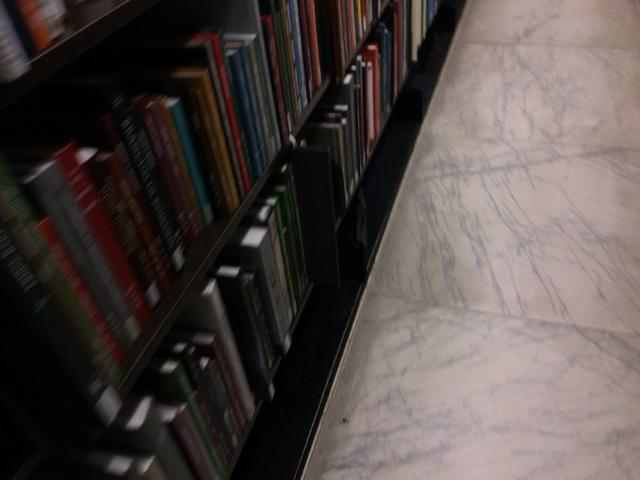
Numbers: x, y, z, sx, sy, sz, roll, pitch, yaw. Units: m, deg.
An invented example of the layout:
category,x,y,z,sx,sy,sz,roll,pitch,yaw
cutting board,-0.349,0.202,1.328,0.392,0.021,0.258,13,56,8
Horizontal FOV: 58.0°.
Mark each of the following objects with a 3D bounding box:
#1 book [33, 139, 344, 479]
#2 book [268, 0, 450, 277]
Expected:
category,x,y,z,sx,sy,sz,roll,pitch,yaw
book,-0.130,0.170,0.970,0.150,0.370,0.670,10,42,15
book,0.240,-0.640,1.900,0.140,0.480,1.710,10,42,15
